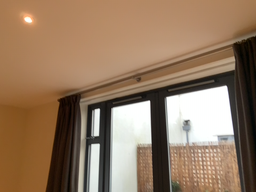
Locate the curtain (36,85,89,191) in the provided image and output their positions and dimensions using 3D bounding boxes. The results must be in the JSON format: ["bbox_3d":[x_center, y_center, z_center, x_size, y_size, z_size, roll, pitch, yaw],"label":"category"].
[{"bbox_3d":[-0.690,1.120,2.090,0.480,2.430,0.250,-14,-21,40],"label":"curtain"}]
